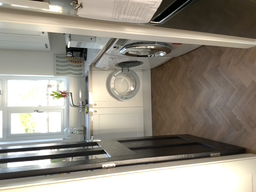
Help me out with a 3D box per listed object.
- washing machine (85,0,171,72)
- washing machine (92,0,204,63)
[{"bbox_3d":[-0.030,-0.690,2.650,0.590,0.920,0.670,173,97,-71],"label":"washing machine"},{"bbox_3d":[0.160,-0.720,2.090,0.590,0.920,0.640,173,97,-71],"label":"washing machine"}]
